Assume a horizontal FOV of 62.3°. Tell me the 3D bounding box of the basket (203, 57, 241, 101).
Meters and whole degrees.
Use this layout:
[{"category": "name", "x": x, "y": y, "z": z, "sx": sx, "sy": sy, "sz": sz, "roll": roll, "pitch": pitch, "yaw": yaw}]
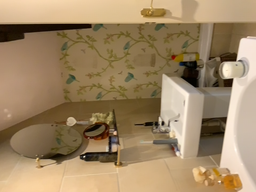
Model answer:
[{"category": "basket", "x": 0.870, "y": -0.170, "z": 1.990, "sx": 0.290, "sy": 0.190, "sz": 0.380, "roll": -130, "pitch": 38, "yaw": -79}]
